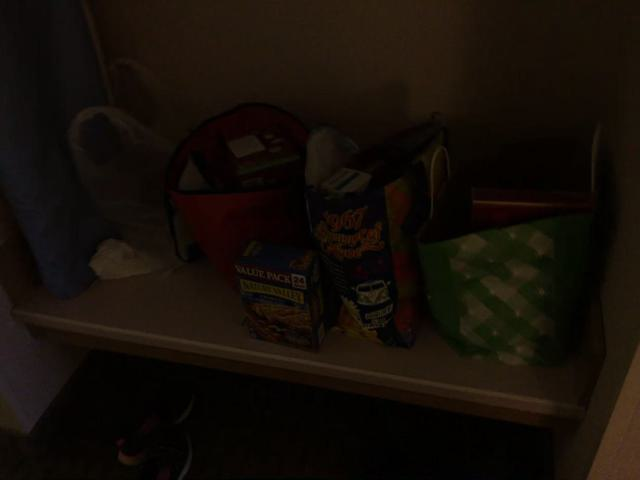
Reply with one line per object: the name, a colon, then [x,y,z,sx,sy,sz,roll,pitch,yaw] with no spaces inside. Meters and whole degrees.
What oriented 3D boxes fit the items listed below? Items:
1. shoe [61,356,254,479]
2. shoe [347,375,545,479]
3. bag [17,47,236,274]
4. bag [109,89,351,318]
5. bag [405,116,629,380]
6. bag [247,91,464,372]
shoe: [-0.390,0.490,1.420,0.330,0.080,0.400,5,41,15]
shoe: [0.280,0.520,1.290,0.400,0.130,0.370,5,41,15]
bag: [-0.400,-0.190,1.320,0.230,0.360,0.370,5,41,15]
bag: [-0.160,-0.100,1.290,0.360,0.310,0.400,5,41,15]
bag: [0.350,0.000,1.100,0.320,0.330,0.350,5,41,15]
bag: [0.100,-0.030,1.130,0.310,0.380,0.370,5,41,15]
